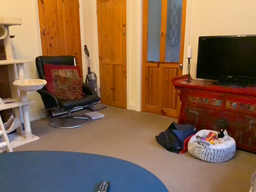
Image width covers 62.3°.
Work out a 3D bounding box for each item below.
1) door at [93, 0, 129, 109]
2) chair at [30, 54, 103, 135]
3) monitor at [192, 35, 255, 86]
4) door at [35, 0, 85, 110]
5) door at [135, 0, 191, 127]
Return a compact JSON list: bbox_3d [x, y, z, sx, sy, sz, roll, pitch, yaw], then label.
[{"bbox_3d":[-0.310,-0.780,3.790,0.790,1.940,0.050,11,16,39],"label":"door"},{"bbox_3d":[-0.850,-0.090,2.980,0.640,0.950,0.770,-12,18,-43],"label":"chair"},{"bbox_3d":[1.140,-0.410,2.400,0.810,0.520,0.040,11,17,40],"label":"monitor"},{"bbox_3d":[-1.070,-0.780,3.470,0.050,1.920,0.800,10,16,36],"label":"door"},{"bbox_3d":[0.490,-0.640,3.210,0.790,2.110,0.200,10,16,39],"label":"door"}]
